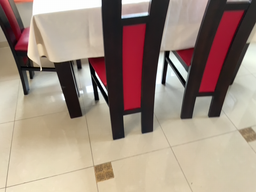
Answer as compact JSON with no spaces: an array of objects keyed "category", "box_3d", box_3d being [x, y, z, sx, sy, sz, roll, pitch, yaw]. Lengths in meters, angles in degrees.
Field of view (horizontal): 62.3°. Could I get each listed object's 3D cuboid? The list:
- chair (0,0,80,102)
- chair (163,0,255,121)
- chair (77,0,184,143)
[{"category":"chair","box_3d":[-0.680,-0.490,1.490,0.470,1.040,0.440,-3,44,-3]},{"category":"chair","box_3d":[0.510,-0.360,1.360,0.370,1.030,0.470,-3,44,-3]},{"category":"chair","box_3d":[-0.030,-0.250,1.250,0.400,1.020,0.470,-12,45,-12]}]
